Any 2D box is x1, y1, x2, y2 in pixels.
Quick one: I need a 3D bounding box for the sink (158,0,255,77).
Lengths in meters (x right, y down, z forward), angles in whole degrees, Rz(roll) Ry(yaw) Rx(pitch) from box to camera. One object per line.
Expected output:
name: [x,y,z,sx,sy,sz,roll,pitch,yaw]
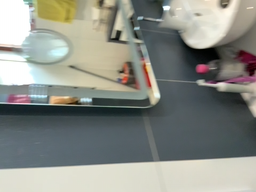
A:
sink: [0.350,-0.410,0.880,0.370,0.200,0.540,113,153,-48]
